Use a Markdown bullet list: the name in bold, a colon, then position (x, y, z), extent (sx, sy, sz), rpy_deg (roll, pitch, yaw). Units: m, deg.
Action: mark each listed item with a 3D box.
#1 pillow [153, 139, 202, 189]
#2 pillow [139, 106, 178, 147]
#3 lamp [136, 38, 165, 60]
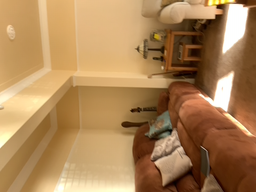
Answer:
- **pillow**: position (0.500, 0.700, 2.230), extent (0.390, 0.360, 0.230), rpy_deg (-97, -14, -74)
- **pillow**: position (0.430, 0.430, 3.100), extent (0.200, 0.440, 0.470), rpy_deg (55, -172, -19)
- **lamp**: position (0.370, -0.790, 3.560), extent (0.270, 0.430, 0.340), rpy_deg (-97, 9, -75)
